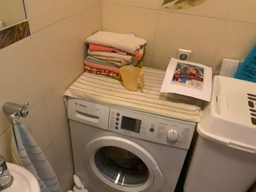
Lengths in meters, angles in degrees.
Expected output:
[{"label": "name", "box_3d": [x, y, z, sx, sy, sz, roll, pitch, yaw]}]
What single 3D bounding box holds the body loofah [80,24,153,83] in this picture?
[{"label": "body loofah", "box_3d": [-0.050, -0.240, 1.130, 0.300, 0.170, 0.270, 14, 36, 12]}]
